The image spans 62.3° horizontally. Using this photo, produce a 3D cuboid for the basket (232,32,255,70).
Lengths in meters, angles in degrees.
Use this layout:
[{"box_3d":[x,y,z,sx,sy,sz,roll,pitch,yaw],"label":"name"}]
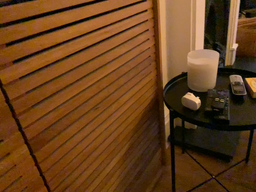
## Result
[{"box_3d":[1.320,-0.500,2.320,0.240,0.310,0.300,12,35,31],"label":"basket"}]
